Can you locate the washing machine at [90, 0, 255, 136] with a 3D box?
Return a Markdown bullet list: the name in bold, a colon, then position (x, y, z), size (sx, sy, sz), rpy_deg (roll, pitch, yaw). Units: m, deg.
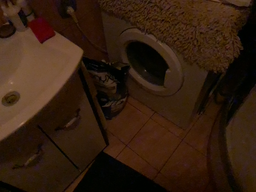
- **washing machine**: position (0.230, -0.290, 1.210), size (0.610, 0.860, 0.480), rpy_deg (32, 64, 22)
